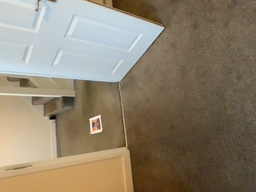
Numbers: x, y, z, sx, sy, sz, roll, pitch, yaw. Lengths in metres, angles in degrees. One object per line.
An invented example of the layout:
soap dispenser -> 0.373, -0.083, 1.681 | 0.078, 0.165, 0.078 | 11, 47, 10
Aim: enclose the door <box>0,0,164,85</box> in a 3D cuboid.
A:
door -> -0.660, -0.370, 1.480 | 0.770, 1.930, 0.050 | -45, 55, 41
